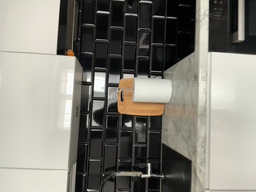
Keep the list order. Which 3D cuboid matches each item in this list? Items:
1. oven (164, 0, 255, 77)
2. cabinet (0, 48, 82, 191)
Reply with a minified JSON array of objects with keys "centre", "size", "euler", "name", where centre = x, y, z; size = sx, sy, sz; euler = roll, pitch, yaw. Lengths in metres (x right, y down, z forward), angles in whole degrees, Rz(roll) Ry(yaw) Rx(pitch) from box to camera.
[{"centre":[0.600,-0.460,1.250],"size":[0.560,0.630,0.590],"euler":[150,121,-84],"name":"oven"},{"centre":[-0.550,0.370,1.220],"size":[0.340,0.480,1.200],"euler":[150,121,-84],"name":"cabinet"}]
